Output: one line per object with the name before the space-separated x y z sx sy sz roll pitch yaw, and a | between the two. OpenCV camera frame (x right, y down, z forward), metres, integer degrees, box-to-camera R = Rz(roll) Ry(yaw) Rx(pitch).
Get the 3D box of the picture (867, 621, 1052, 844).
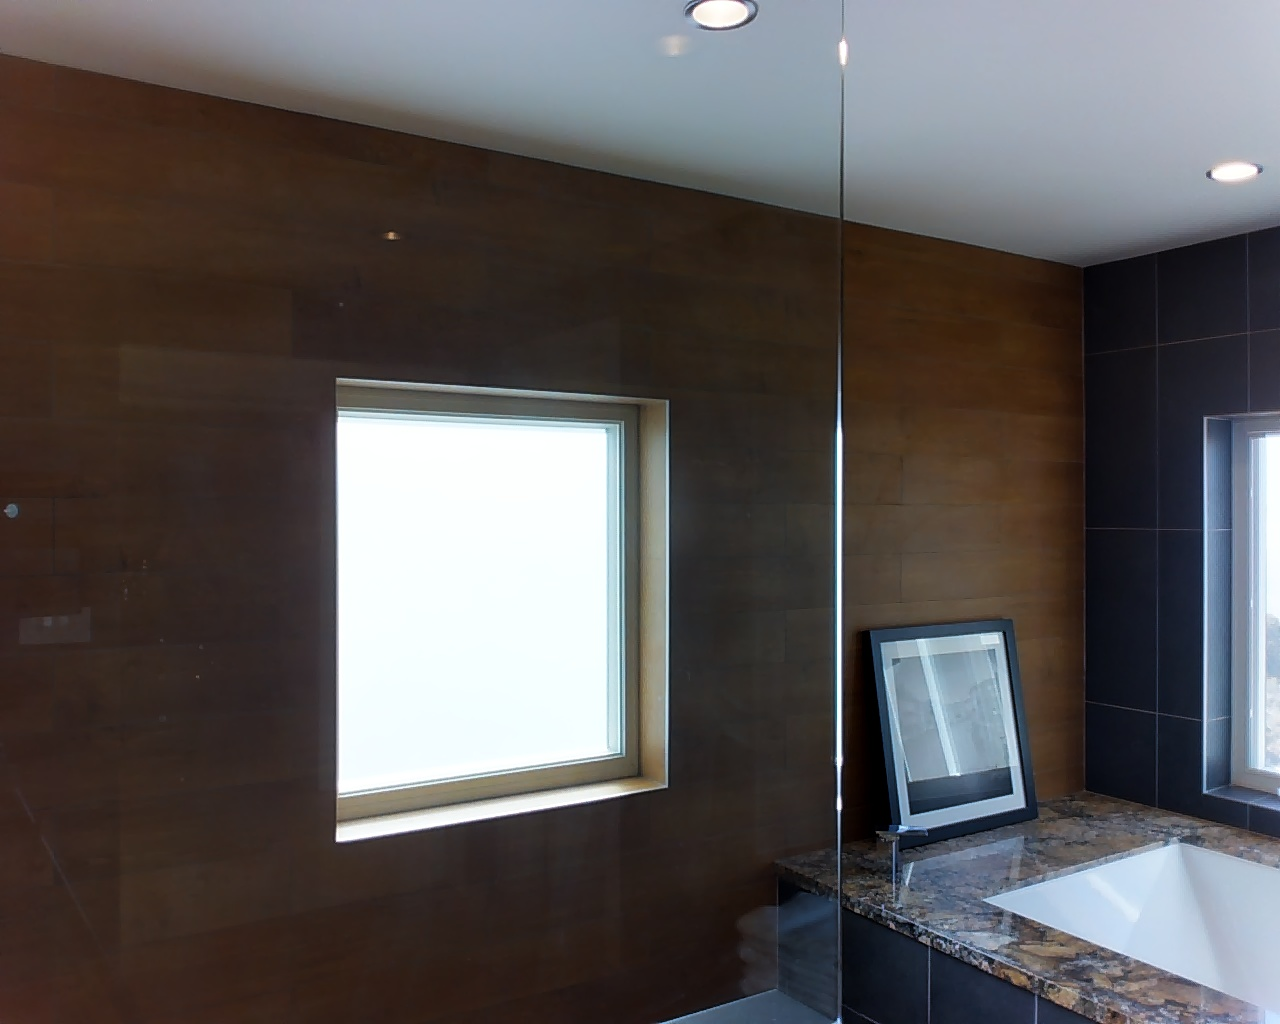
picture | 0.980 0.650 3.270 0.610 0.600 0.080 0 -10 -32
